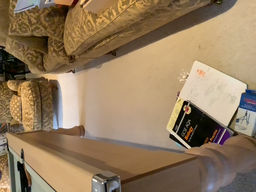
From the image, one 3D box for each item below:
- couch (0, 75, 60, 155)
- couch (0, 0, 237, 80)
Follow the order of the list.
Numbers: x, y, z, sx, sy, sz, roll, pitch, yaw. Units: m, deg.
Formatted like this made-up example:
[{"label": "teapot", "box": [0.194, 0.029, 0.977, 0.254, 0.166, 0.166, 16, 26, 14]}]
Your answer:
[{"label": "couch", "box": [-1.850, 0.170, 3.590, 1.710, 0.810, 0.960, 12, 103, 54]}, {"label": "couch", "box": [-0.490, -0.820, 1.620, 2.140, 0.770, 1.100, -8, 87, 55]}]
